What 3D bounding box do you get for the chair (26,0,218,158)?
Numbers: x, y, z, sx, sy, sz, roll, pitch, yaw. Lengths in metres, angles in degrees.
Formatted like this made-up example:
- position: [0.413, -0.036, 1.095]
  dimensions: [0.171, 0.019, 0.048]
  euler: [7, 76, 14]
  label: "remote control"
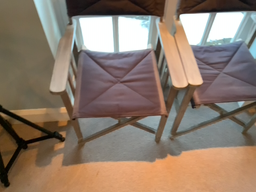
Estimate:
- position: [-0.050, -0.120, 1.180]
  dimensions: [0.600, 0.890, 0.560]
  euler: [-5, 54, -5]
  label: "chair"
